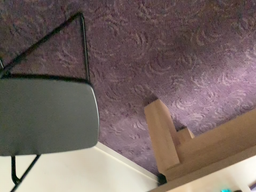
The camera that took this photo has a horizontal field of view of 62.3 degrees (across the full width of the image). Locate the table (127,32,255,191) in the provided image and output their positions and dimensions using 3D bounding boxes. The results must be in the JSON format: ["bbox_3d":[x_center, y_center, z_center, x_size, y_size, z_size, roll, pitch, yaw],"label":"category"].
[{"bbox_3d":[0.680,0.170,1.170,1.150,0.580,0.650,-31,130,20],"label":"table"}]
